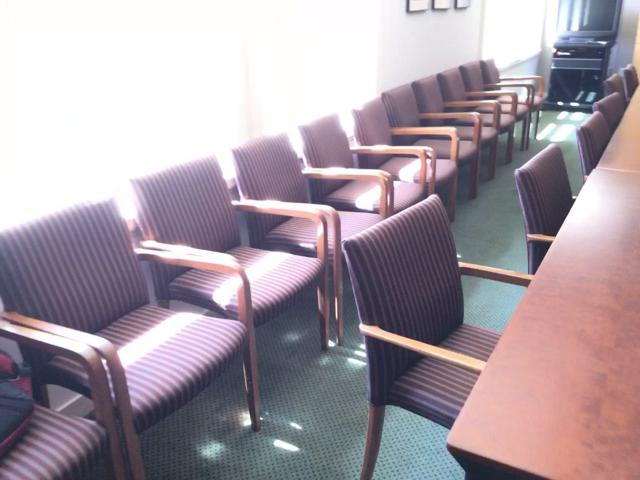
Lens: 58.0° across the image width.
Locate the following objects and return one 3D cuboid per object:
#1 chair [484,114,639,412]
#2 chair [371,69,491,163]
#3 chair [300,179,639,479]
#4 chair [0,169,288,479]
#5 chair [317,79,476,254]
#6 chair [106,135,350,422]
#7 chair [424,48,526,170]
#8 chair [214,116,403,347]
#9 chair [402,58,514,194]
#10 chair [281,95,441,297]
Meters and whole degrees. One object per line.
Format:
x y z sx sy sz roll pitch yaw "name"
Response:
1.050 0.050 2.210 0.620 0.900 0.570 12 28 30 "chair"
0.750 -0.860 3.900 0.600 0.470 0.600 12 28 30 "chair"
0.400 0.360 1.650 0.580 0.830 0.650 -23 31 -37 "chair"
-0.580 0.310 1.810 0.620 0.830 0.680 12 28 30 "chair"
0.480 -0.490 3.530 0.680 0.820 0.720 12 28 30 "chair"
-0.310 0.100 2.300 0.610 0.850 0.620 12 28 30 "chair"
1.290 -1.120 4.830 0.600 0.850 0.650 12 28 30 "chair"
-0.020 -0.080 2.680 0.610 0.830 0.570 12 28 30 "chair"
1.040 -0.890 4.380 0.600 0.840 0.660 12 28 30 "chair"
0.240 -0.270 3.080 0.570 0.840 0.640 12 28 30 "chair"
